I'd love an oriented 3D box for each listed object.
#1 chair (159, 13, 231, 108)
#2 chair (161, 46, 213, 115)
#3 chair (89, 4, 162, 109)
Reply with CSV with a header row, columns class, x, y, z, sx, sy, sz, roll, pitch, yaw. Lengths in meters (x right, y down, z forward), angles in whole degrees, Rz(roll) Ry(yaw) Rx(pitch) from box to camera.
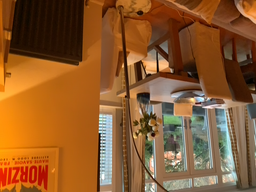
class,x,y,z,sx,sy,sz,roll,pitch,yaw
chair,0.840,-0.400,2.790,0.510,1.000,0.650,7,165,-30
chair,0.970,-0.220,3.580,0.490,0.990,0.590,7,165,-30
chair,-0.050,-0.410,2.550,0.650,1.010,0.540,7,164,-31
